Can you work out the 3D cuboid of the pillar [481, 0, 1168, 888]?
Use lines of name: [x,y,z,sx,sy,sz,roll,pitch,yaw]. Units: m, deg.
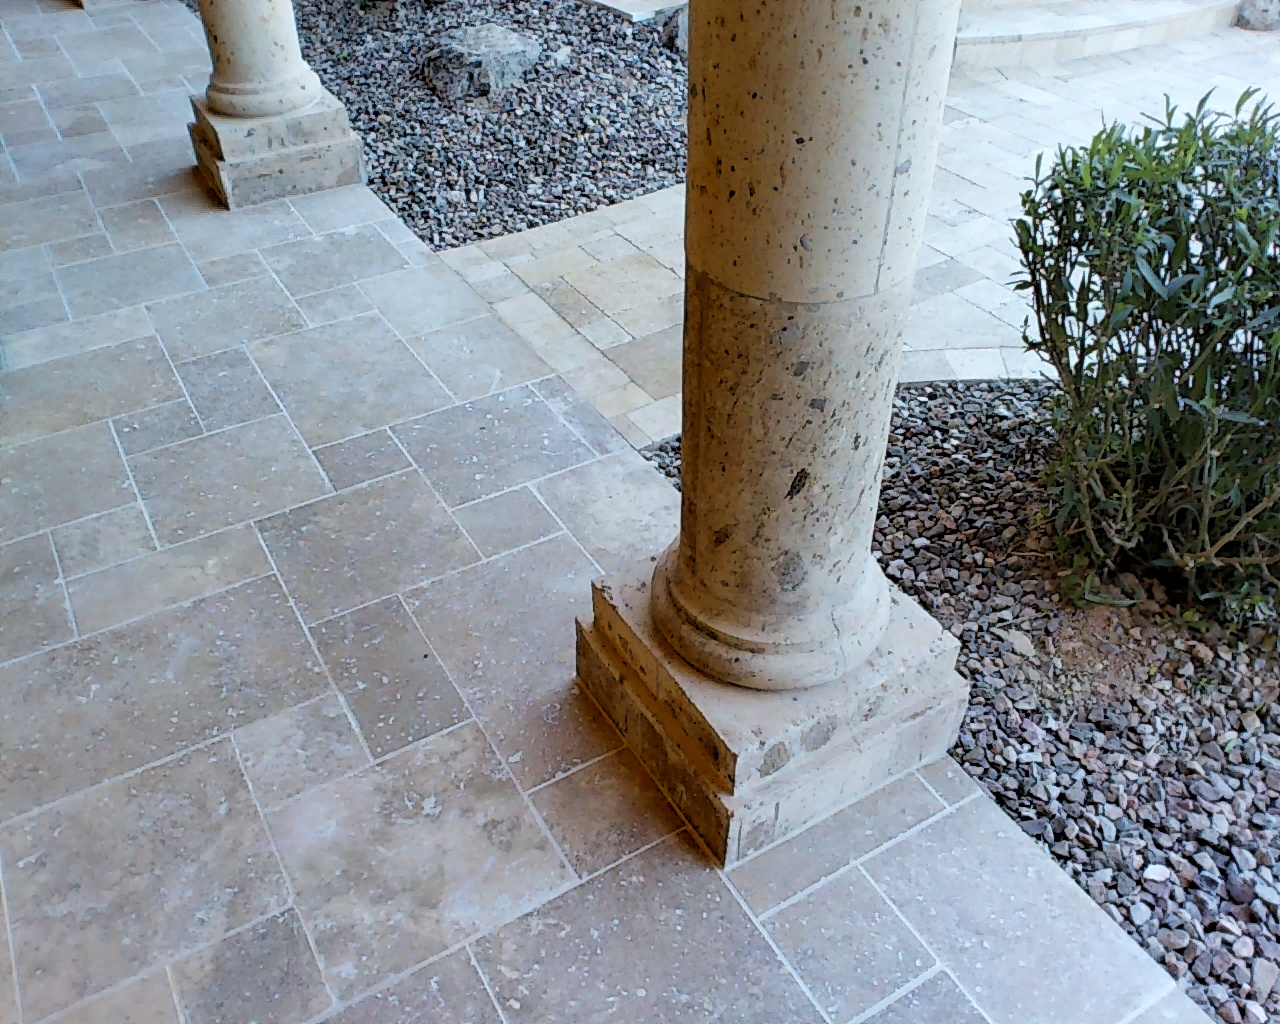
pillar: [0.170,-0.490,1.300,0.490,2.159,0.620,-21,44,-23]
